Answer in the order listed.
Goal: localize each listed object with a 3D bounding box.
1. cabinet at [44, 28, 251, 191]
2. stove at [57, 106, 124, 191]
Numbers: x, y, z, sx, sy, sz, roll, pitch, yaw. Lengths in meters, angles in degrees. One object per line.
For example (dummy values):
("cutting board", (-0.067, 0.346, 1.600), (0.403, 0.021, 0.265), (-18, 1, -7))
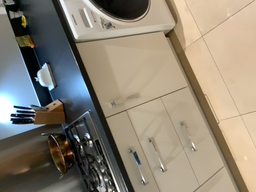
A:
("cabinet", (0.160, 0.410, 1.570), (0.650, 0.890, 1.570), (-31, 80, 54))
("stove", (-0.220, 0.500, 1.320), (0.620, 0.030, 0.760), (-31, 80, 54))
